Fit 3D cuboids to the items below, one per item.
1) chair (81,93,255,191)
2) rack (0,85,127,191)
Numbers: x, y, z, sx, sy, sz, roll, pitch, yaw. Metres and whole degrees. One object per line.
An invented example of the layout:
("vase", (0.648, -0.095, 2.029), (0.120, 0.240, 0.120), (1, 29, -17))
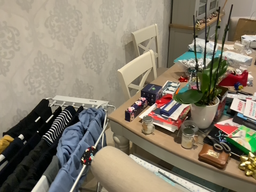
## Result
("chair", (0.220, 0.570, 1.050), (0.450, 0.910, 0.610), (25, 41, 36))
("rack", (-0.420, 0.520, 1.290), (0.540, 0.730, 0.990), (7, 33, 15))
